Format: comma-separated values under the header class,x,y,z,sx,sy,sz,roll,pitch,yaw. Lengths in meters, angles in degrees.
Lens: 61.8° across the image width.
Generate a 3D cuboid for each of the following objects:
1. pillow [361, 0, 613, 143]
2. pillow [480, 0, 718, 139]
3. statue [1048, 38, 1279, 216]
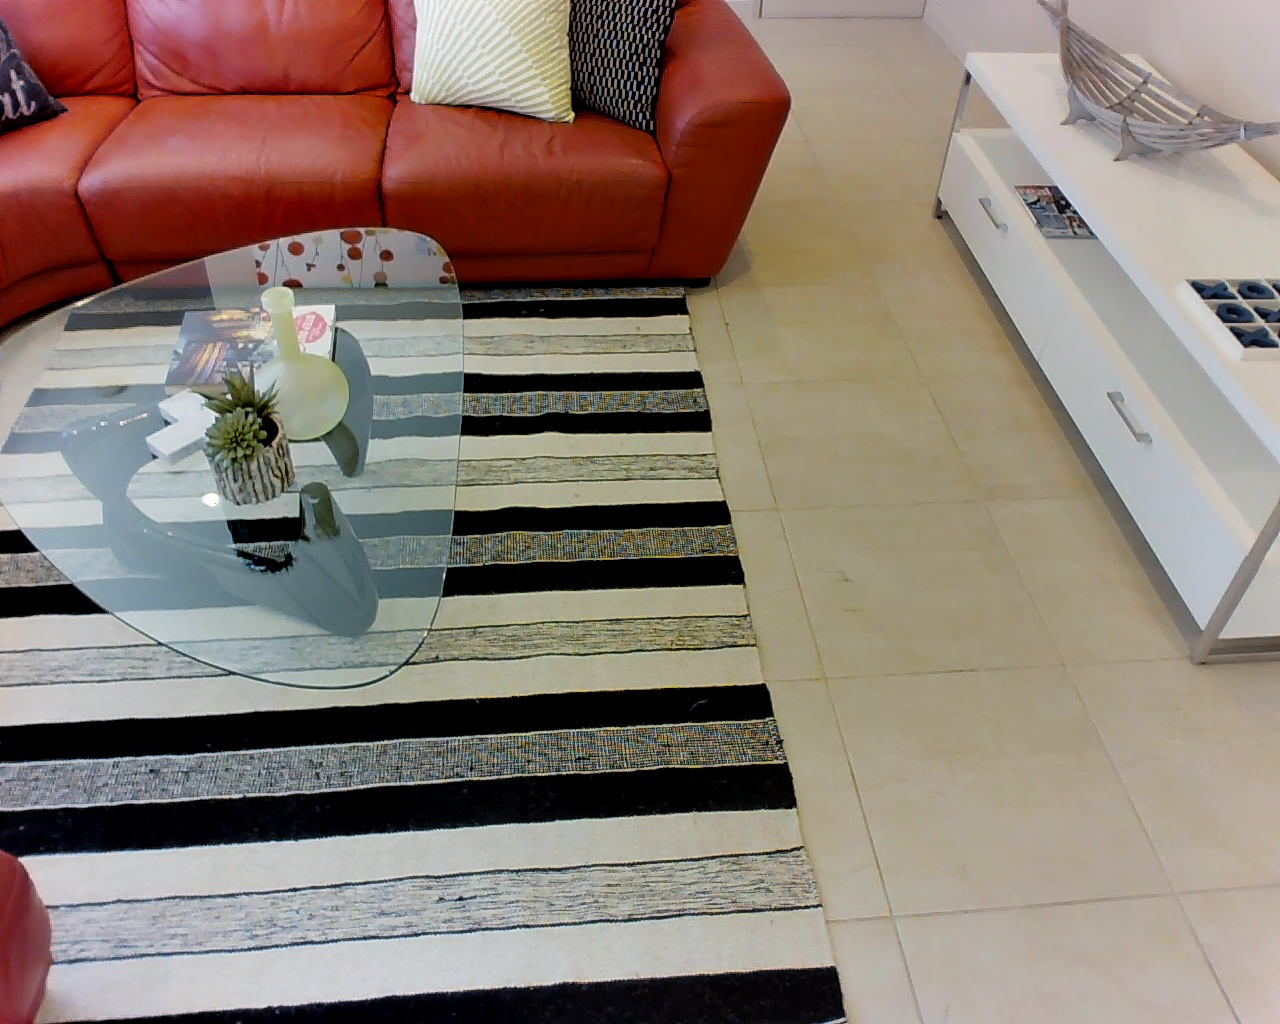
class,x,y,z,sx,sy,sz,roll,pitch,yaw
pillow,-0.390,-1.260,2.800,0.570,0.470,0.300,9,33,13
pillow,-0.110,-1.280,2.840,0.540,0.440,0.310,19,34,26
statue,1.250,-0.920,2.520,0.280,0.170,0.570,-7,44,-10
